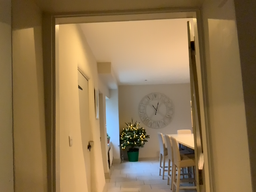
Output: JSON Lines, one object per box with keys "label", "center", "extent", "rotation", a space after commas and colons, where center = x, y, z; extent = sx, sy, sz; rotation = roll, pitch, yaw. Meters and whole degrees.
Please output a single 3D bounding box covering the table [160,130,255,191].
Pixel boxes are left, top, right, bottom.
{"label": "table", "center": [1.510, 1.230, 4.210], "extent": [1.360, 0.910, 2.290], "rotation": [-2, -5, -1]}
